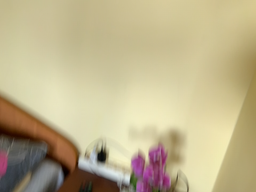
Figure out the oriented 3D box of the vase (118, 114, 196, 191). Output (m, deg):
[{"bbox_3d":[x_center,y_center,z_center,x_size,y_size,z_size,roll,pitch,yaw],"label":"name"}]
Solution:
[{"bbox_3d":[0.110,0.290,0.810,0.210,0.310,0.270,14,26,15],"label":"vase"}]
